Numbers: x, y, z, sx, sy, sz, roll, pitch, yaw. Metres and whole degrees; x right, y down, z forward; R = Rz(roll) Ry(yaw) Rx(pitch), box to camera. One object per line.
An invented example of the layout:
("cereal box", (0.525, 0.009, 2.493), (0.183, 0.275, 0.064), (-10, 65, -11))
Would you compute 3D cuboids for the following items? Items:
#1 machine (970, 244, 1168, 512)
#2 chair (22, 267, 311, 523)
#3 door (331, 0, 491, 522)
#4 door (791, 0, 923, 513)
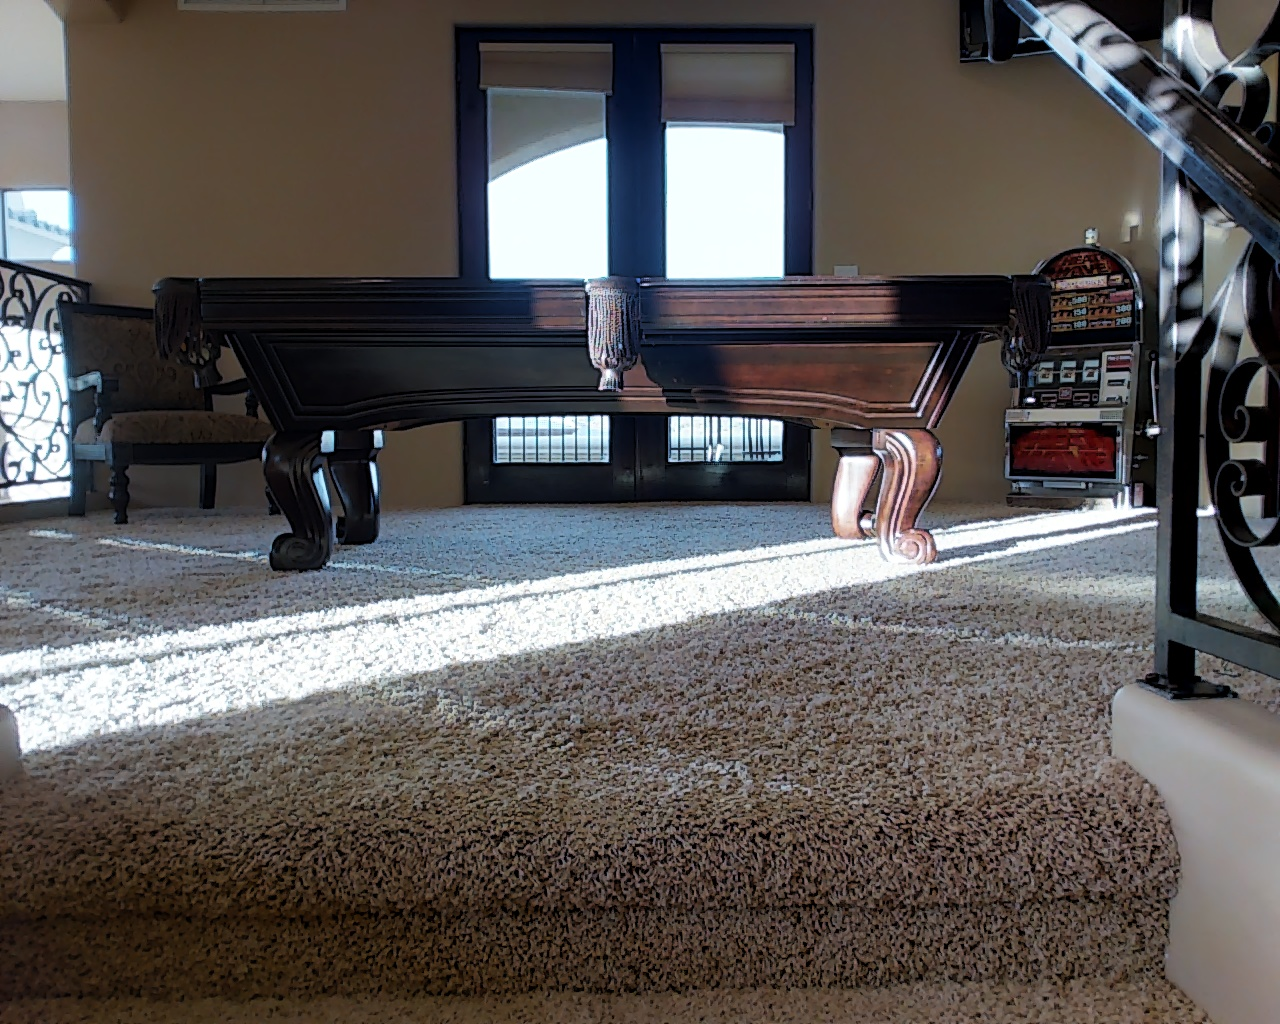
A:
("machine", (2.010, -0.600, 5.020), (0.720, 1.150, 0.500), (3, 5, 42))
("chair", (-2.110, -0.490, 4.750), (0.860, 0.980, 0.950), (-5, 6, -44))
("door", (-1.030, -1.180, 4.970), (0.200, 2.380, 1.020), (0, 4, 17))
("door", (0.990, -1.200, 4.980), (0.160, 2.360, 0.850), (-2, 4, -21))
